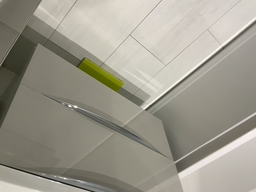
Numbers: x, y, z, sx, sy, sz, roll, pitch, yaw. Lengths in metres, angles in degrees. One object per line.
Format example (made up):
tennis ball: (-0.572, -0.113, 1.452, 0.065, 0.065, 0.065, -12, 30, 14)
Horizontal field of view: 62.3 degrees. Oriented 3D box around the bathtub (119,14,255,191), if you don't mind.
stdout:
bathtub: (0.780, 0.070, 1.250, 0.690, 0.550, 1.680, 32, 120, -30)
